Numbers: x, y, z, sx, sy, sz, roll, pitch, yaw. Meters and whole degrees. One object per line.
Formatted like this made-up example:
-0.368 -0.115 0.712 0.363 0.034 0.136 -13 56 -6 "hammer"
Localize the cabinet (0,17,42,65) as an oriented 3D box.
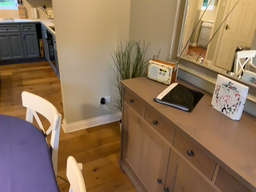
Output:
-2.910 -1.140 4.390 1.930 0.870 0.600 -11 29 -26 "cabinet"
